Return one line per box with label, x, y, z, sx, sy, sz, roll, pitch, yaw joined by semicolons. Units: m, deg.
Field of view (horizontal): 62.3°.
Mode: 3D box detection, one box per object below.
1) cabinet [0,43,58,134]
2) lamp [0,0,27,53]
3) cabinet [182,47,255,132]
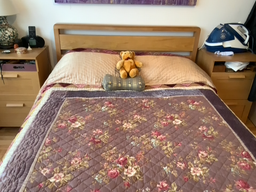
cabinet;-1.060;-0.080;2.120;0.530;0.790;0.450;0;26;-5
lamp;-1.140;-0.670;1.890;0.280;0.490;0.310;0;26;-5
cabinet;0.980;-0.080;2.290;0.540;0.790;0.470;0;26;-5
